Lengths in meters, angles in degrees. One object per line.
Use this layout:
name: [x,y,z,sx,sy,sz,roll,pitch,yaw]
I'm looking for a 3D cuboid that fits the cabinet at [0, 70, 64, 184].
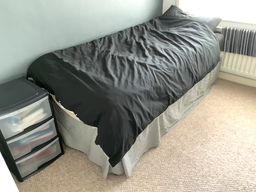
cabinet: [-0.820,0.210,1.580,0.420,0.610,0.400,24,40,34]
